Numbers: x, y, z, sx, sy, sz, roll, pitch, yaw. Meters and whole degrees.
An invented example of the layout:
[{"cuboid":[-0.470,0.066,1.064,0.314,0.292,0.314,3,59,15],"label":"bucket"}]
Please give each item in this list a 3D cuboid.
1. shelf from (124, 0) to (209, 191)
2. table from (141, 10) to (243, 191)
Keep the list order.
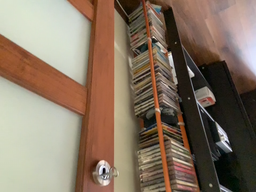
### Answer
[{"cuboid":[0.140,-0.060,1.040,0.210,1.140,0.210,-24,140,28],"label":"shelf"},{"cuboid":[0.380,0.040,1.370,0.230,1.040,0.620,-24,140,28],"label":"table"}]
